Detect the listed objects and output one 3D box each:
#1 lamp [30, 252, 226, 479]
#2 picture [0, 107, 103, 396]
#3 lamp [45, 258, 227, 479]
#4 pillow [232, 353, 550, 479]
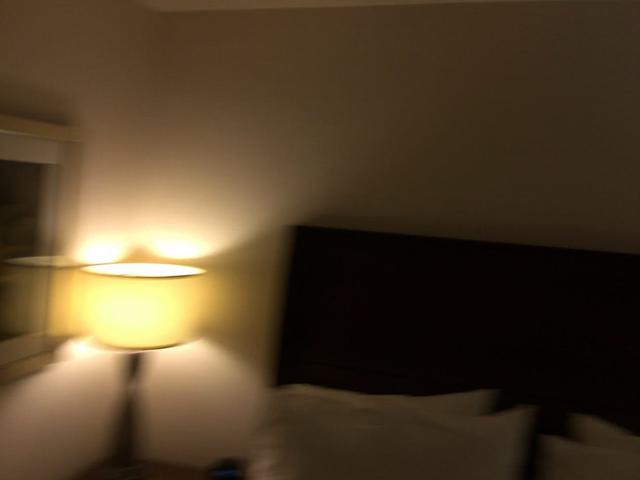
[{"bbox_3d":[-0.690,0.470,2.140,0.450,0.800,0.450,6,2,19],"label":"lamp"},{"bbox_3d":[-0.940,0.040,1.570,0.080,0.810,0.840,6,2,19],"label":"picture"},{"bbox_3d":[-0.650,0.490,2.100,0.380,0.800,0.450,6,2,19],"label":"lamp"},{"bbox_3d":[0.220,0.650,1.780,0.850,0.390,0.440,6,2,19],"label":"pillow"}]
